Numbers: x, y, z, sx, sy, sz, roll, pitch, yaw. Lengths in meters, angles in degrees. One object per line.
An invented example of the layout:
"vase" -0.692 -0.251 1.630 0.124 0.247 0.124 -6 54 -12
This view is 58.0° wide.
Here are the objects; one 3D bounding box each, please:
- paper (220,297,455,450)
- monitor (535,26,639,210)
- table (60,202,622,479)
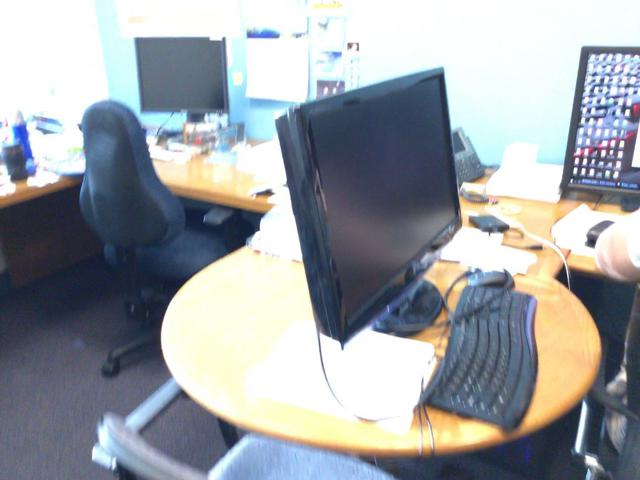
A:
"paper" 0.040 0.210 1.010 0.310 0.040 0.290 10 25 27
"monitor" 1.020 -0.350 1.670 0.670 0.500 0.210 10 25 27
"table" 0.130 0.450 1.370 0.890 0.750 0.890 10 25 27
